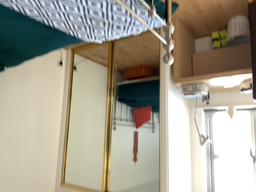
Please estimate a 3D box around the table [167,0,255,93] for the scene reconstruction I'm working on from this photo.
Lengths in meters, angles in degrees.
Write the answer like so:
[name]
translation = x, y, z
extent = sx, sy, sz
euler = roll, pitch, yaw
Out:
[table]
translation = 1.130, -0.540, 2.200
extent = 1.250, 0.820, 0.660
euler = -5, 168, 34
